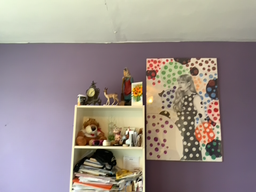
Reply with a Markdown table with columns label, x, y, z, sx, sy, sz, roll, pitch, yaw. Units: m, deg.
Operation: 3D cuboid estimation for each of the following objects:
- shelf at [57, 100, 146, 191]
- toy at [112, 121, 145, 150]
| label | x | y | z | sx | sy | sz | roll | pitch | yaw |
| --- | --- | --- | --- | --- | --- | --- | --- | --- | --- |
| shelf | -0.210 | 0.960 | 1.780 | 0.700 | 1.820 | 0.280 | 1 | -10 | 2 |
| toy | 0.010 | 0.350 | 1.900 | 0.270 | 0.240 | 0.220 | 1 | -10 | 3 |
